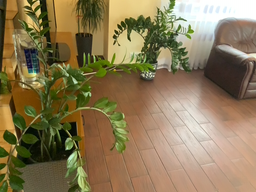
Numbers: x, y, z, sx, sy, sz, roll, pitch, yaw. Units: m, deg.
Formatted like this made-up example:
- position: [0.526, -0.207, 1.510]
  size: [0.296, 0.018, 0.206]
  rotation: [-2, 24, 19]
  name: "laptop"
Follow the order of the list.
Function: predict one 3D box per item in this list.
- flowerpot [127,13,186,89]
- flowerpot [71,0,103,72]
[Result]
- position: [0.350, -0.640, 3.030]
  size: [0.580, 0.900, 0.560]
  rotation: [1, 31, -9]
  name: "flowerpot"
- position: [-0.600, -0.900, 3.160]
  size: [0.410, 1.000, 0.420]
  rotation: [0, 31, -10]
  name: "flowerpot"
